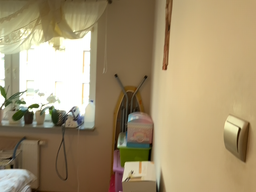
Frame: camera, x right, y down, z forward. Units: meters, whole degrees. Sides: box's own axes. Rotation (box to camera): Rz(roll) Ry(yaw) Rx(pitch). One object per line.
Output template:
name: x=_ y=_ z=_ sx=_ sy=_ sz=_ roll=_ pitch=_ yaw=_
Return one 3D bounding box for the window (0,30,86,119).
window: x=-1.620 y=-0.300 z=2.810 sx=2.070 sy=1.090 sz=0.160 roll=3 pitch=5 yaw=2

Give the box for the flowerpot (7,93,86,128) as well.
flowerpot: x=-1.040 y=0.170 z=2.830 sx=0.820 sy=0.340 sz=0.560 roll=3 pitch=5 yaw=3

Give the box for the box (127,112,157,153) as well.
box: x=0.130 y=0.370 z=2.250 sx=0.260 sy=0.310 sz=0.450 roll=3 pitch=5 yaw=-1
